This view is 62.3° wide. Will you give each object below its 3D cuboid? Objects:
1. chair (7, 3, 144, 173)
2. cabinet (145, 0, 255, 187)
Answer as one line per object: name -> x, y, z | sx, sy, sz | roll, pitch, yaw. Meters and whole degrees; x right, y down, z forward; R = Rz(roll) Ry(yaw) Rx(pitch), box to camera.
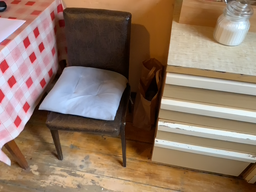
chair -> -0.190, -0.020, 1.250 | 0.450, 0.760, 0.580 | 8, 48, 6
cabinet -> 0.420, 0.000, 1.180 | 0.510, 0.850, 0.600 | 9, 48, 7
